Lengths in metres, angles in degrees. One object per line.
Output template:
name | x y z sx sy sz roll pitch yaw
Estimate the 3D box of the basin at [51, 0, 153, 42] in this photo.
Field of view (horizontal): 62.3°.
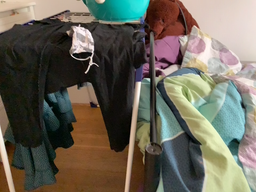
basin | -0.100 -0.570 1.200 0.470 0.380 0.510 4 29 6
